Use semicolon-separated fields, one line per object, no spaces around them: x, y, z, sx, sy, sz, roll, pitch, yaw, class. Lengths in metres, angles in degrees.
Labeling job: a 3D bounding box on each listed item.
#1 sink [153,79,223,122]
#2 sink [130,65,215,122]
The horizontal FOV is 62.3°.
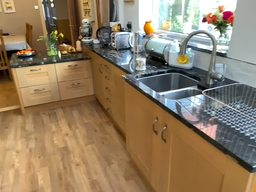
0.410;0.020;1.470;0.430;0.160;0.200;-11;25;-22;sink
0.350;-0.050;1.760;0.550;0.270;0.390;-11;25;-22;sink
